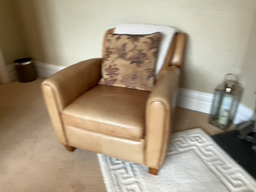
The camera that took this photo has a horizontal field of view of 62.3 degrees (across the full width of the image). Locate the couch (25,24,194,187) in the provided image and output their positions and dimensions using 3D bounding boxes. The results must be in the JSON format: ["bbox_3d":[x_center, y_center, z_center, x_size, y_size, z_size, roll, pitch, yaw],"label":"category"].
[{"bbox_3d":[-0.010,-0.070,1.680,0.820,0.750,1.040,10,30,19],"label":"couch"}]
